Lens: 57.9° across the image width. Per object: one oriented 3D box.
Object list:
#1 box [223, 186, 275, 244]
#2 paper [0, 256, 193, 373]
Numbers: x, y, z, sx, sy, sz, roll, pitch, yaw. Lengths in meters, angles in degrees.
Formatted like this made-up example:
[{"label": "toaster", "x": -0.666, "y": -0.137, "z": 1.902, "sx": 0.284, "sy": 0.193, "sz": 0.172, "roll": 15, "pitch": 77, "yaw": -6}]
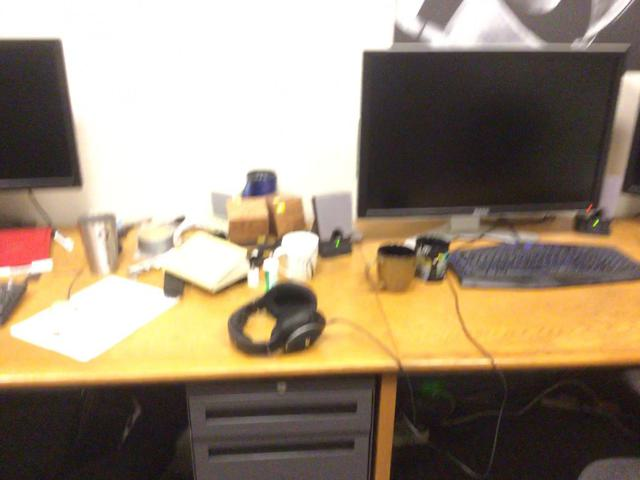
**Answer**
[{"label": "box", "x": -0.190, "y": -0.070, "z": 1.560, "sx": 0.130, "sy": 0.110, "sz": 0.150, "roll": -2, "pitch": 21, "yaw": -6}, {"label": "paper", "x": -0.480, "y": 0.140, "z": 1.230, "sx": 0.250, "sy": 0.060, "sz": 0.340, "roll": 10, "pitch": 23, "yaw": 25}]
